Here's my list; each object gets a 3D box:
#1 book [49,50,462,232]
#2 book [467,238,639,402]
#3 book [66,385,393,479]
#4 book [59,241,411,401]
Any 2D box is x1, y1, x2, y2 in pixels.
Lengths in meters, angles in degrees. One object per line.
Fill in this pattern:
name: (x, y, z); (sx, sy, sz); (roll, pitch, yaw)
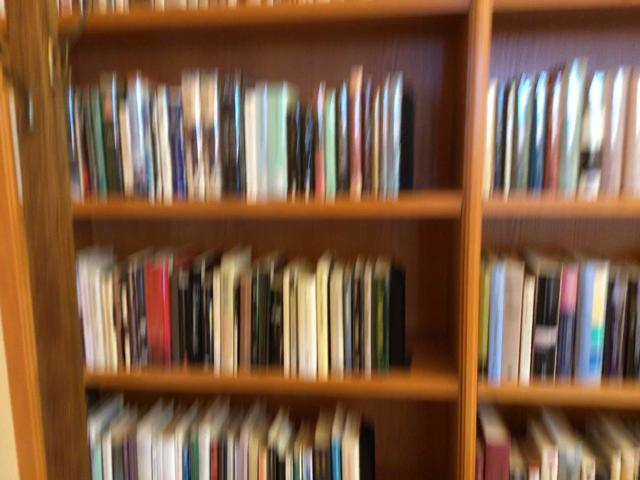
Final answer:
book: (-0.130, -0.200, 1.250); (0.830, 0.320, 0.180); (-2, 9, 8)
book: (0.730, 0.160, 1.240); (0.780, 0.300, 0.220); (-2, 9, 8)
book: (-0.200, 0.540, 1.400); (0.740, 0.310, 0.190); (-2, 9, 8)
book: (-0.180, 0.180, 1.330); (0.760, 0.310, 0.180); (-2, 9, 8)
